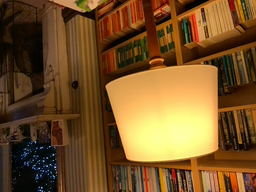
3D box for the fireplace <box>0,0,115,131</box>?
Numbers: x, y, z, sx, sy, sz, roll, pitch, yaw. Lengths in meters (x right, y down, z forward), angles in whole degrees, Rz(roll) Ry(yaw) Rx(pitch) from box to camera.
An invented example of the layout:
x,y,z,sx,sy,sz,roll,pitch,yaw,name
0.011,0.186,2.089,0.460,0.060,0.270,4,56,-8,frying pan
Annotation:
x,y,z,sx,sy,sz,roll,pitch,yaw,name
-1.130,-0.290,2.450,1.720,1.270,0.930,-14,168,42,fireplace
